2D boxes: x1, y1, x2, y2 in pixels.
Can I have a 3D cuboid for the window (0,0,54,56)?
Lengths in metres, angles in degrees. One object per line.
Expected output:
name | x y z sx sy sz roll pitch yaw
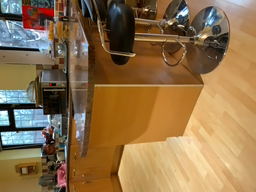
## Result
window | -1.450 -1.270 2.560 0.100 1.050 1.580 -116 32 -51

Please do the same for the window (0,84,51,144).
window | -1.820 0.330 3.680 0.130 0.900 1.170 -117 33 -52
